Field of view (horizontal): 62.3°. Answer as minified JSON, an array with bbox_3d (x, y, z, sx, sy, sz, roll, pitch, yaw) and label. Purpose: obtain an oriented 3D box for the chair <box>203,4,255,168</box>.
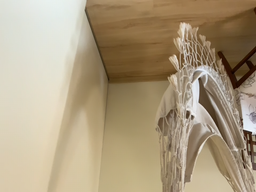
[{"bbox_3d":[0.980,-0.050,1.470,0.470,0.950,0.570,14,146,-19],"label":"chair"}]
